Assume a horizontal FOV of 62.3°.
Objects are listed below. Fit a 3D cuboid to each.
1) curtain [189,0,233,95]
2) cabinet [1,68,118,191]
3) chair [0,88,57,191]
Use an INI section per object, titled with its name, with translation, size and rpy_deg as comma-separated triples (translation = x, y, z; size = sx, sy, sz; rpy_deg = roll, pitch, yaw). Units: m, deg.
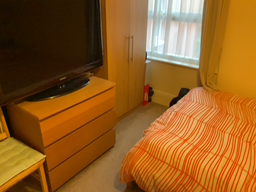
[curtain]
translation = 0.960, -1.020, 2.250
size = 0.250, 2.110, 0.180
rpy_deg = 19, 31, 32
[cabinet]
translation = -0.550, 0.270, 2.000
size = 0.510, 0.780, 0.830
rpy_deg = 19, 31, 31
[chair]
translation = -0.920, 0.460, 1.510
size = 0.560, 0.850, 0.450
rpy_deg = 18, 31, 30
